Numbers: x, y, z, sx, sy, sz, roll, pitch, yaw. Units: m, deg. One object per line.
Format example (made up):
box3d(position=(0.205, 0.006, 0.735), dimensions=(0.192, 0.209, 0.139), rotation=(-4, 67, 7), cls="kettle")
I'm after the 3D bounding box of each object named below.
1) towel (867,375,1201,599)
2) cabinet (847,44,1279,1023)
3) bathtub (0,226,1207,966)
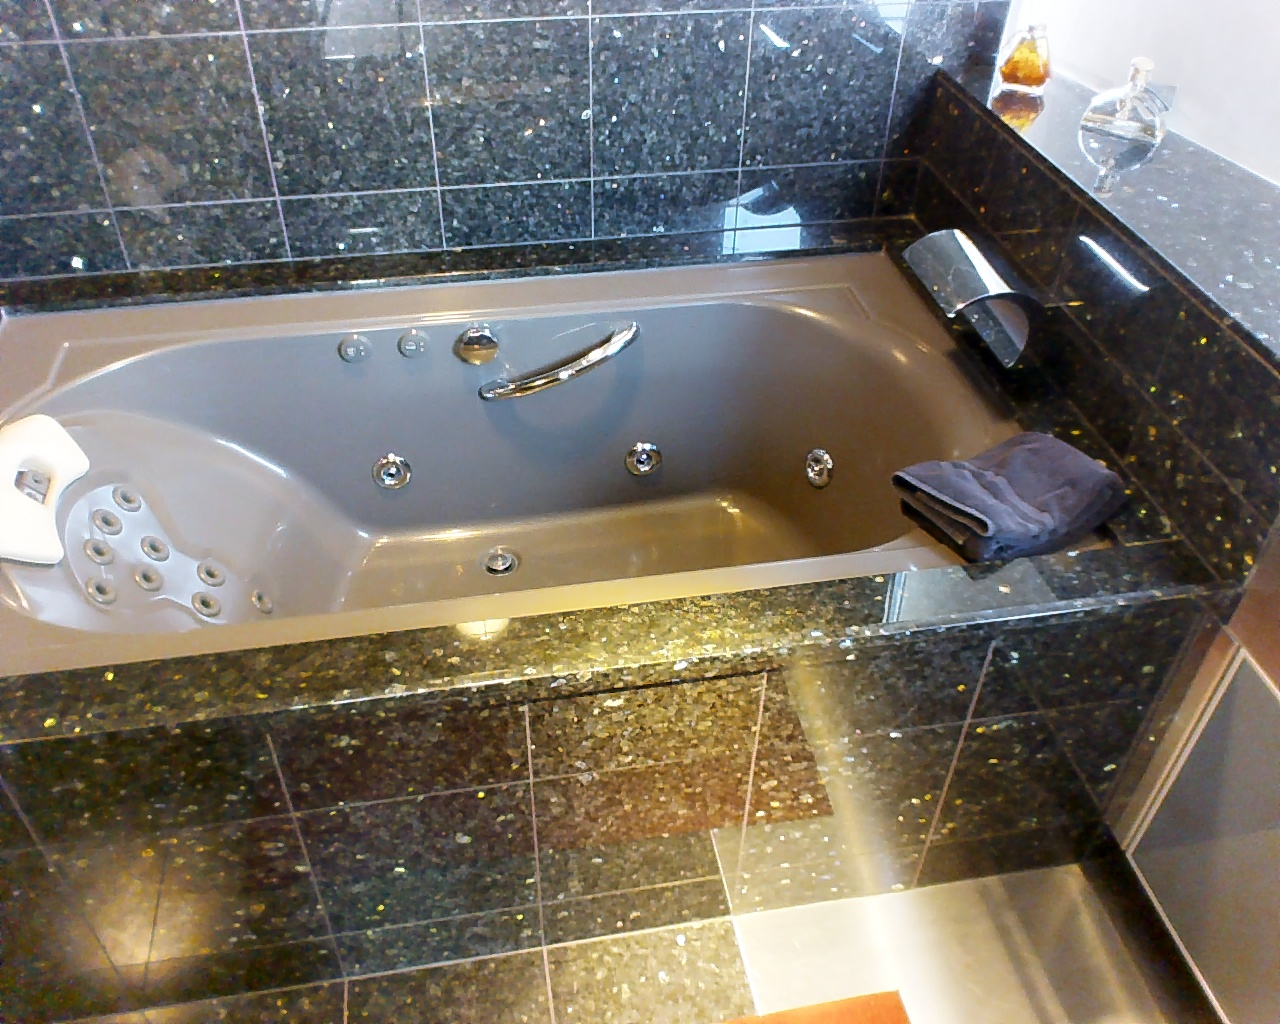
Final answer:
box3d(position=(0.600, -0.050, 1.650), dimensions=(0.410, 0.130, 0.240), rotation=(-17, 43, -20), cls="towel")
box3d(position=(1.040, 0.090, 1.700), dimensions=(0.610, 0.940, 2.140), rotation=(-6, 41, -9), cls="cabinet")
box3d(position=(-0.190, 0.040, 2.000), dimensions=(1.830, 0.610, 1.080), rotation=(-6, 41, -8), cls="bathtub")
